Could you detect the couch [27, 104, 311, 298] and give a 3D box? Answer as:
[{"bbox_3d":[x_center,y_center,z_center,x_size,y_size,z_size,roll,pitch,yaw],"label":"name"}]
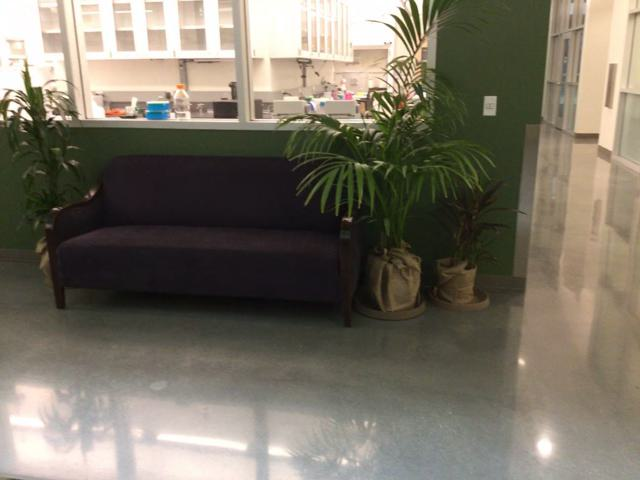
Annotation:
[{"bbox_3d":[-0.840,-0.260,3.560,1.490,1.050,0.730,1,9,5],"label":"couch"}]
